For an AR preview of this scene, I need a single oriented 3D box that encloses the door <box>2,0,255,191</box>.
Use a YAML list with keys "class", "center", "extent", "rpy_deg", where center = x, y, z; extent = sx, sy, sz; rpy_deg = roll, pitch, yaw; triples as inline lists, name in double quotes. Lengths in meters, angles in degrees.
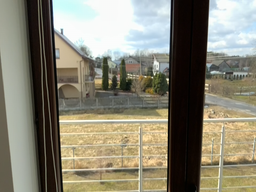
- class: "door"
  center: [0.280, 0.490, 1.070]
  extent: [1.500, 2.200, 0.210]
  rpy_deg: [0, 10, -3]
